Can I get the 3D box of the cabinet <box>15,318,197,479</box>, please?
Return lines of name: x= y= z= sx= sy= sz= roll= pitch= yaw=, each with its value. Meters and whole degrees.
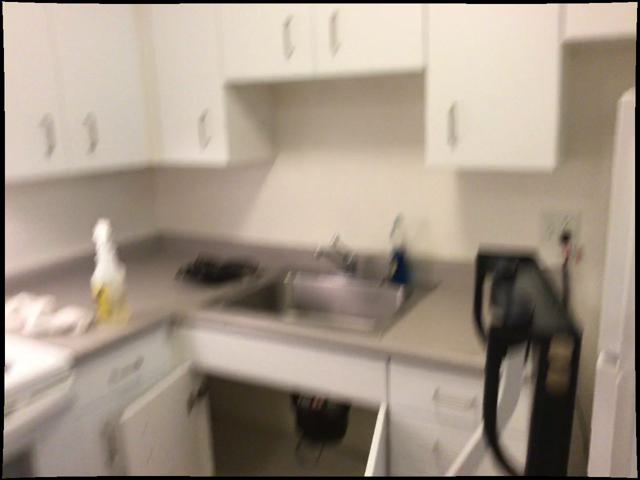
cabinet: x=-0.578 y=0.682 z=1.700 sx=0.070 sy=0.762 sz=0.520 roll=5 pitch=15 yaw=28

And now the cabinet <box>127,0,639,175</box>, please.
cabinet: x=0.190 y=-0.762 z=1.760 sx=1.796 sy=1.053 sz=0.340 roll=5 pitch=15 yaw=28
